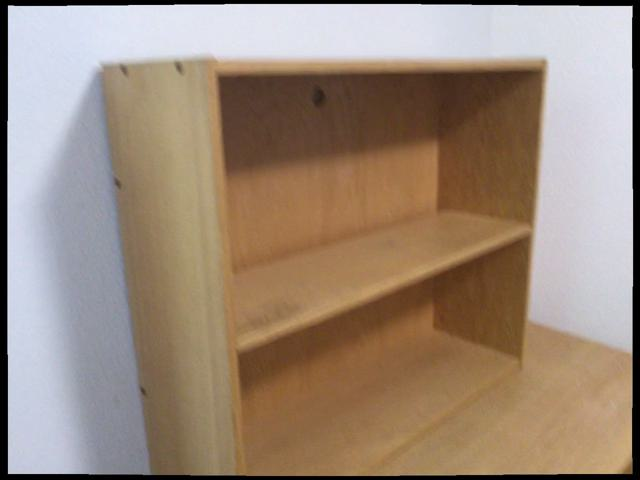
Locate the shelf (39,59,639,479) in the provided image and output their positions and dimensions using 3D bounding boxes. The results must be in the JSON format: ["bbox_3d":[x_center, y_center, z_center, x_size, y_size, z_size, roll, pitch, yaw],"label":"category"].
[{"bbox_3d":[0.090,0.070,1.260,0.969,0.862,0.759,-16,22,-42],"label":"shelf"}]
